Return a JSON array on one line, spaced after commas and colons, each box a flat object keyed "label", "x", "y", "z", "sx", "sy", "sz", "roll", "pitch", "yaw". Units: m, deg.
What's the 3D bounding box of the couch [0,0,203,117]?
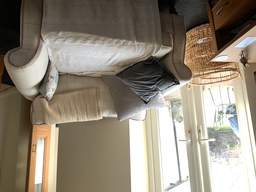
[{"label": "couch", "x": -0.300, "y": -0.300, "z": 1.800, "sx": 1.260, "sy": 0.790, "sz": 1.150, "roll": 3, "pitch": 166, "yaw": -18}]
